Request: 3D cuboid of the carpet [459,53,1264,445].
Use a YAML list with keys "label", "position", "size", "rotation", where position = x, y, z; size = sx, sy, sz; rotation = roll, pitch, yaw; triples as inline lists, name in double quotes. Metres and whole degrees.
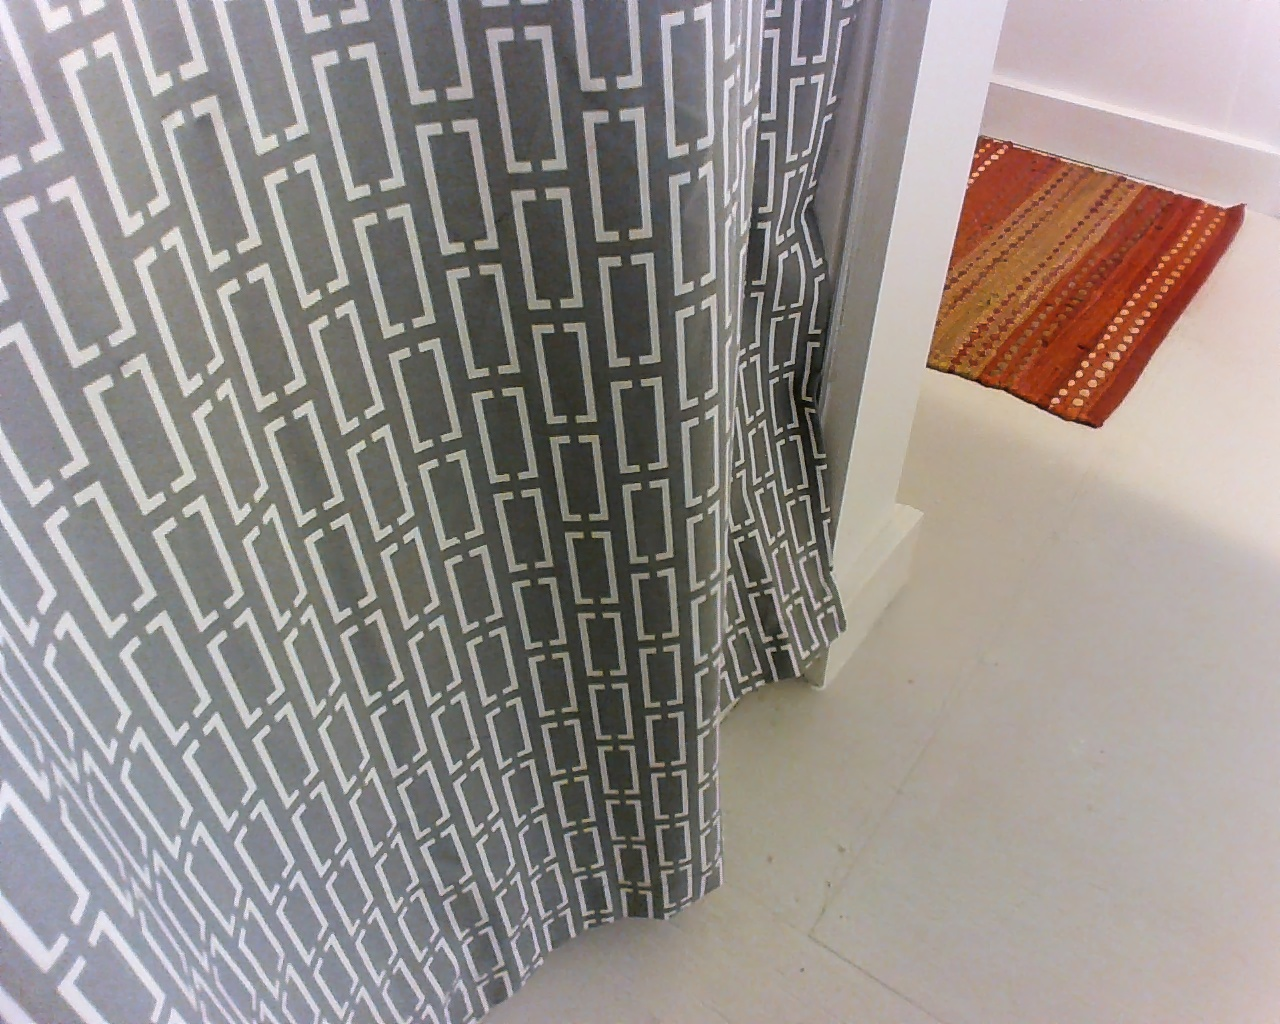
- label: "carpet"
  position: [0.320, -0.460, 1.590]
  size: [0.990, 0.030, 0.640]
  rotation: [26, 49, 25]
